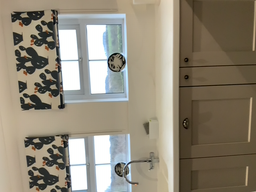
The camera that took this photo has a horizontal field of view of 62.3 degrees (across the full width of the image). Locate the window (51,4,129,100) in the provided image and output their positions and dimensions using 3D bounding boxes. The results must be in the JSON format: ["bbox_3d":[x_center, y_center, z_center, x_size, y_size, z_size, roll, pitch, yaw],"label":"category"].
[{"bbox_3d":[-0.390,-0.470,2.350,0.090,0.770,1.000,-116,24,-77],"label":"window"}]
